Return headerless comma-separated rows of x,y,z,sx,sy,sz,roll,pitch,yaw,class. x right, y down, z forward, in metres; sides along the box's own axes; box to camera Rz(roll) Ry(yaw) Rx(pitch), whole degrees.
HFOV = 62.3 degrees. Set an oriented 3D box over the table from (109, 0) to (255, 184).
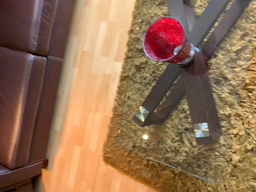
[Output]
0.300,-0.190,1.060,0.500,0.300,1.010,17,98,29,table
